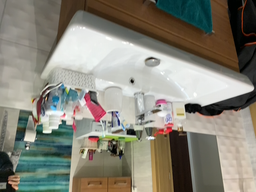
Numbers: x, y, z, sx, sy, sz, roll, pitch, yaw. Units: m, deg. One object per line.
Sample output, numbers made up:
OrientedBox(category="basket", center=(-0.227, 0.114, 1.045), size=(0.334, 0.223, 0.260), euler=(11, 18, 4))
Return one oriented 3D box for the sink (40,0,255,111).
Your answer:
OrientedBox(category="sink", center=(0.130, -0.100, 0.900), size=(0.860, 0.130, 0.370), euler=(12, 157, -32))
